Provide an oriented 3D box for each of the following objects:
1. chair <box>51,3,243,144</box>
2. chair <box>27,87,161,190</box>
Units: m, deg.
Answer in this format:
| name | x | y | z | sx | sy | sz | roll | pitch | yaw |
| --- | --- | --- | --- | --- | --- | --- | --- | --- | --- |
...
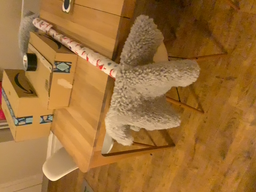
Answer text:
| name | x | y | z | sx | sy | sz | roll | pitch | yaw |
| --- | --- | --- | --- | --- | --- | --- | --- | --- | --- |
| chair | 0.120 | -0.150 | 1.140 | 0.510 | 0.840 | 0.450 | 28 | 114 | 44 |
| chair | -0.220 | 0.210 | 1.560 | 0.470 | 0.840 | 0.500 | 8 | 99 | 48 |
